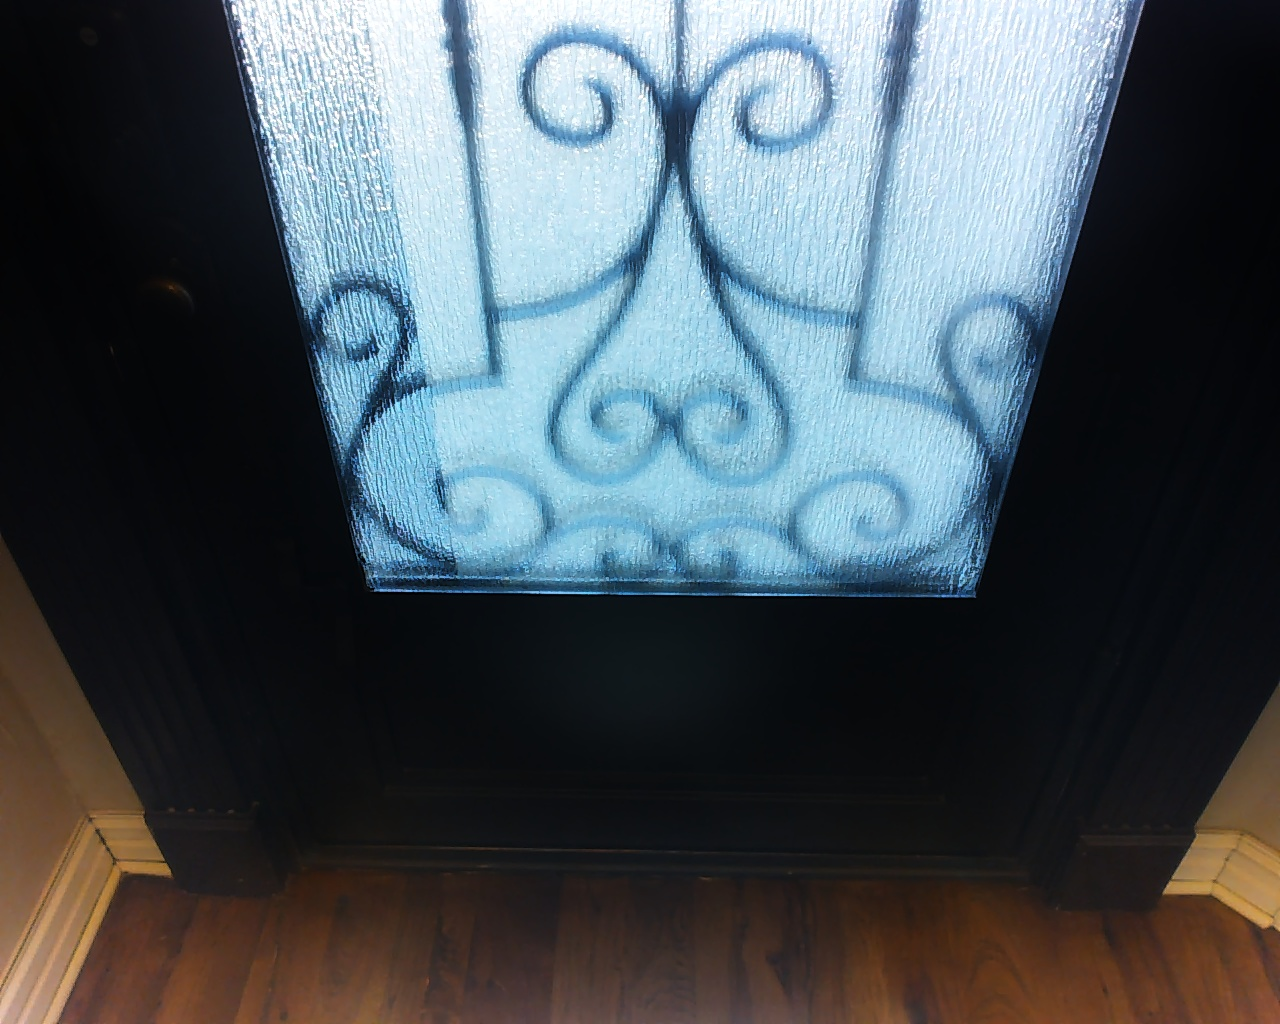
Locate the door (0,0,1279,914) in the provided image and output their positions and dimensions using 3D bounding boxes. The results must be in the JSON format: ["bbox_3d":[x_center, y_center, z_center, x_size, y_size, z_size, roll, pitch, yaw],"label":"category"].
[{"bbox_3d":[0.040,-0.610,0.640,1.760,3.080,0.090,1,41,1],"label":"door"}]
